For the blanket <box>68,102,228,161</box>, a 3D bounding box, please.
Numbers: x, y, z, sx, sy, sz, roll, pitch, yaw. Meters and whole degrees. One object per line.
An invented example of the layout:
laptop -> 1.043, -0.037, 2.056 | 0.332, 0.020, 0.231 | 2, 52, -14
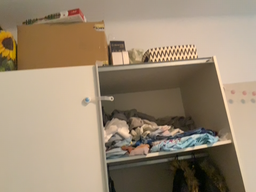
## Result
blanket -> 0.080, 0.260, 1.420 | 0.790, 0.200, 0.740 | -6, -14, -5
